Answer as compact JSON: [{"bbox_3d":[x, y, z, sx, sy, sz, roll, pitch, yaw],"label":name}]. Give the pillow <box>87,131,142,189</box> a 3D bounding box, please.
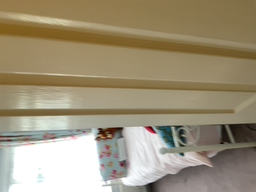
[{"bbox_3d":[-0.200,0.900,3.030,0.620,0.470,0.180,46,156,15],"label":"pillow"}]
